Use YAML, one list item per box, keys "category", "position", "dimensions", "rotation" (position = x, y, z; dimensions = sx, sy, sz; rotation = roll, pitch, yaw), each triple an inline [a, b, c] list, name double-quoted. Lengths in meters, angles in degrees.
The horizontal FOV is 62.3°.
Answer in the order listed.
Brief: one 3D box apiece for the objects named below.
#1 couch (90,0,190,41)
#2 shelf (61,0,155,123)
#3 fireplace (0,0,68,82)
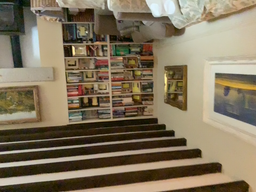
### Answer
- category: "couch"
  position: [0.080, -1.320, 3.160]
  dimensions: [0.980, 0.790, 1.400]
  rotation: [-4, -171, -21]
- category: "shelf"
  position: [-0.340, -0.700, 4.120]
  dimensions: [1.690, 2.320, 0.300]
  rotation: [-3, -171, -11]
- category: "fireplace"
  position: [-2.040, -1.020, 3.590]
  dimensions: [1.830, 1.480, 0.910]
  rotation: [-3, -171, -11]
